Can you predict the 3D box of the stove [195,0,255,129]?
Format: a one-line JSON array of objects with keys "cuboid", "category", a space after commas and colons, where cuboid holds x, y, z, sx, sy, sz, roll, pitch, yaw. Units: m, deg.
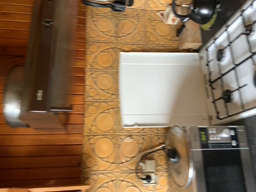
[{"cuboid": [0.590, -0.120, 1.100, 0.630, 0.150, 0.490, 118, 152, -70], "category": "stove"}]
